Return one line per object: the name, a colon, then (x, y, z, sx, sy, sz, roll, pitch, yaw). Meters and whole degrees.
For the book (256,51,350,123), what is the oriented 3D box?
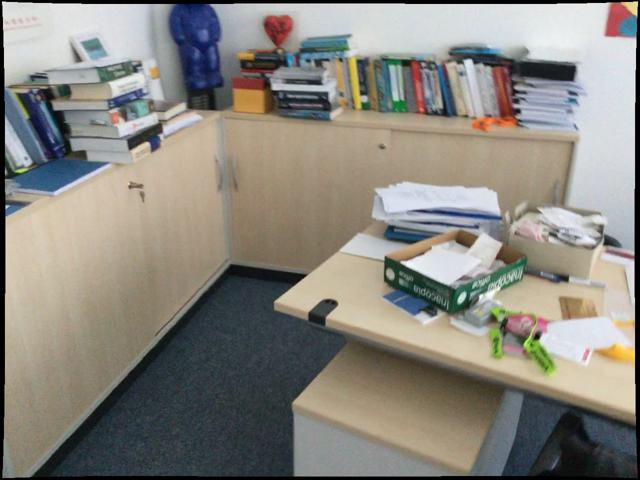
book: (-0.070, -0.711, 2.660, 0.360, 0.250, 0.290, 7, 27, 13)

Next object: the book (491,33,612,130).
book: (0.959, -0.691, 2.470, 0.400, 0.310, 0.400, 7, 27, 13)

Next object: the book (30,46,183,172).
book: (-0.739, -0.480, 2.070, 0.330, 0.350, 0.350, 7, 27, 13)

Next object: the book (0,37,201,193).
book: (-0.889, -0.561, 2.240, 0.280, 0.260, 1.350, 7, 27, 13)

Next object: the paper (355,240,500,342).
paper: (0.260, 0.110, 1.390, 0.230, 0.070, 0.270, 21, 34, 36)
